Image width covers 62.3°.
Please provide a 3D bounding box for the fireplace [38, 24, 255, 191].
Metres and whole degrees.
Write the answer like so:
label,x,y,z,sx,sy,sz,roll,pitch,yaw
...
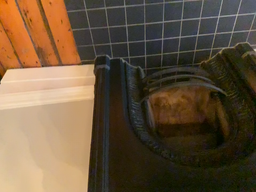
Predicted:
label,x,y,z,sx,sy,sz,roll,pitch,yaw
fireplace,0.280,0.120,0.980,1.080,1.000,0.410,-4,134,-1
